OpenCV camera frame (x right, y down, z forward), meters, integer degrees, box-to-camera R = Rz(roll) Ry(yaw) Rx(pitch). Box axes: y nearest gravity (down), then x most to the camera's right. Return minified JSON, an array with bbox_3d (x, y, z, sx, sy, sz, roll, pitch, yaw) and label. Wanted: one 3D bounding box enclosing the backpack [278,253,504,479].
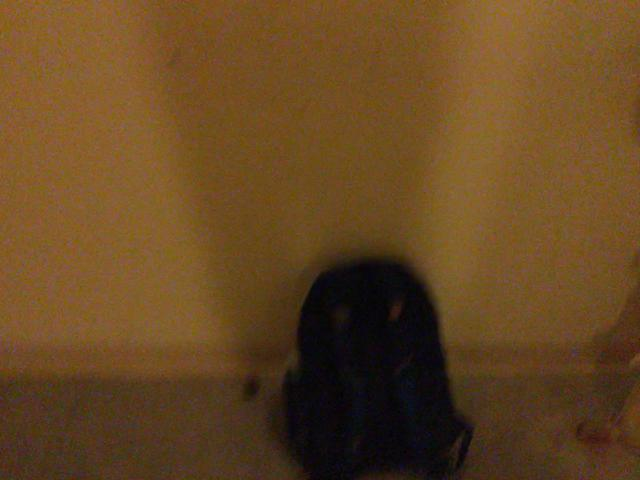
[{"bbox_3d":[0.130,0.300,1.330,0.430,0.440,0.290,2,28,0],"label":"backpack"}]
